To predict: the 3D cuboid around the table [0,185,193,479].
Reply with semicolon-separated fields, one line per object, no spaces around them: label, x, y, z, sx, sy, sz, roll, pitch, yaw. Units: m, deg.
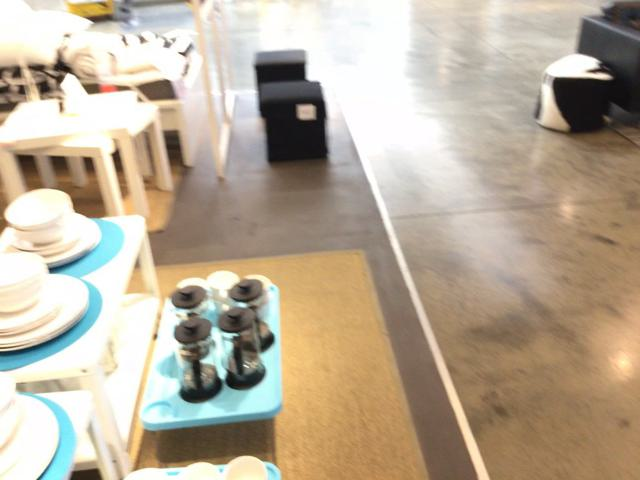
table;-0.760;0.300;1.650;0.570;0.550;0.780;-10;30;1
